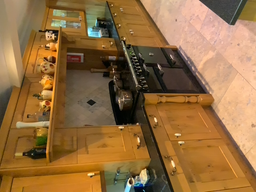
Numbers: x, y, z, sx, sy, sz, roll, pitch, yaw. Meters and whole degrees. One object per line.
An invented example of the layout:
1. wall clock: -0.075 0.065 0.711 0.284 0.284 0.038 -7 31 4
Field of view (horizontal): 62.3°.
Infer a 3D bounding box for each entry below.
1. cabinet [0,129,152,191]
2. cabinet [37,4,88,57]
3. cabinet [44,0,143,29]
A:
1. cabinet: -0.510 0.620 2.070 0.350 1.370 0.420 -107 22 -46
2. cabinet: -1.250 -1.320 4.160 1.420 0.820 0.350 -107 22 -46
3. cabinet: -0.800 -2.100 4.980 0.620 2.120 0.610 -107 22 -46
